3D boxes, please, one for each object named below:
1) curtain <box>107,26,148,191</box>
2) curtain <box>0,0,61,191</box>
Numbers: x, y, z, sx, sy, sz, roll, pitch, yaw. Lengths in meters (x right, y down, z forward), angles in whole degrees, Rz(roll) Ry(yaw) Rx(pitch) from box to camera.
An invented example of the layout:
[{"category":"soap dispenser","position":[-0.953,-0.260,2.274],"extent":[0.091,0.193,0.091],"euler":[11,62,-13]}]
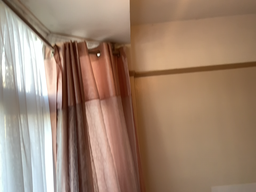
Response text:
[{"category":"curtain","position":[0.030,0.410,1.700],"extent":[0.190,1.810,0.430],"euler":[-5,-5,3]},{"category":"curtain","position":[-0.490,0.190,0.580],"extent":[0.070,1.380,1.550],"euler":[-5,-5,0]}]
